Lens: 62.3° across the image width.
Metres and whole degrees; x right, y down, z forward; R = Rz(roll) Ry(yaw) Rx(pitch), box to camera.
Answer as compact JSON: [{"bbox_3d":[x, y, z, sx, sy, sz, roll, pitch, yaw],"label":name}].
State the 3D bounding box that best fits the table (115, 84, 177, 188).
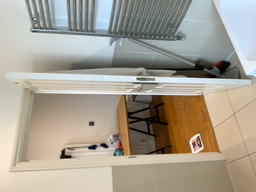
[{"bbox_3d":[0.230,0.690,3.850,0.750,0.740,1.660,112,156,-58],"label":"table"}]
